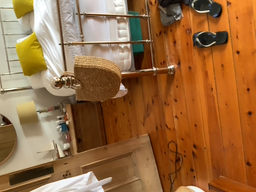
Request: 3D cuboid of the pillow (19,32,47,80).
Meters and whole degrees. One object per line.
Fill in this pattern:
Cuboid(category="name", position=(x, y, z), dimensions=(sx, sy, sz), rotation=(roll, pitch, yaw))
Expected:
Cuboid(category="pillow", position=(-1.190, -0.480, 2.630), dimensions=(0.510, 0.190, 0.460), rotation=(-10, 90, 59))
